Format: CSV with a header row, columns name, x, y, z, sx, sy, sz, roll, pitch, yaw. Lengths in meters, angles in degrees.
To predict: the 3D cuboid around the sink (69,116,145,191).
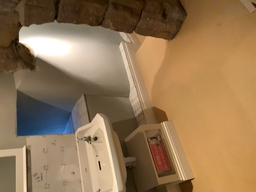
name,x,y,z,sx,sy,sz,roll,pitch,yaw
sink,-0.190,0.580,1.650,0.470,0.350,0.710,-47,49,49
